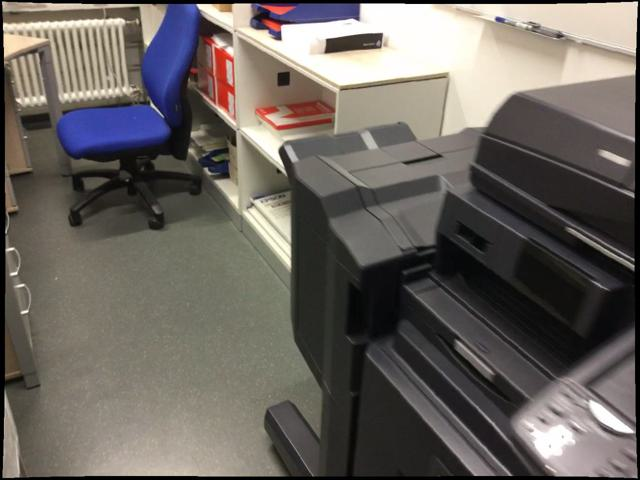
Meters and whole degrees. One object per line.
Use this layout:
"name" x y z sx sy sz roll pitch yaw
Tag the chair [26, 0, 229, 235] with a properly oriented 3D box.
"chair" -0.839 -0.611 2.620 0.670 0.911 0.520 -15 37 -28
